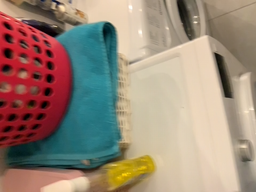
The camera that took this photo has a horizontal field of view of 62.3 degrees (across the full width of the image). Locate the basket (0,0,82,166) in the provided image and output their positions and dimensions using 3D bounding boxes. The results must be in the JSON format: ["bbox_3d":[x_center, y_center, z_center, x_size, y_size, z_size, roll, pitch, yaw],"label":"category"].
[{"bbox_3d":[-0.390,-0.030,0.530,0.400,0.350,0.370,-10,79,36],"label":"basket"}]
